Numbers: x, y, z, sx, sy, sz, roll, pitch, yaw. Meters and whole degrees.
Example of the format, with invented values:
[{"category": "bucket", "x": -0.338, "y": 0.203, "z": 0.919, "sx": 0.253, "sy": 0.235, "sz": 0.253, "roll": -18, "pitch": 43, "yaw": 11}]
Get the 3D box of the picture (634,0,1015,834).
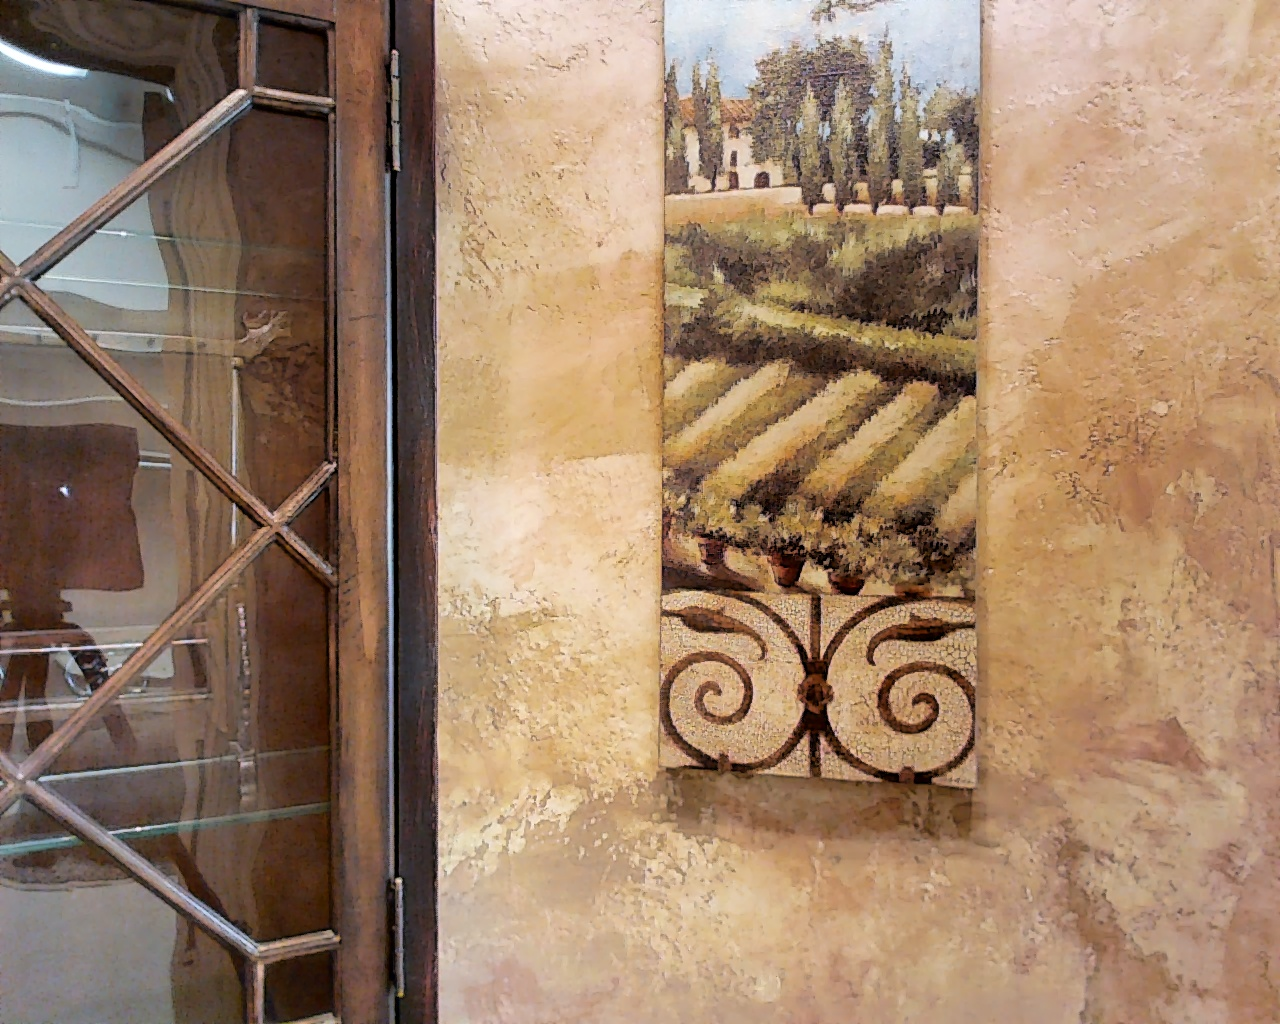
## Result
[{"category": "picture", "x": 0.170, "y": -0.190, "z": 1.020, "sx": 0.340, "sy": 0.950, "sz": 0.070, "roll": 0, "pitch": 1, "yaw": 11}]
